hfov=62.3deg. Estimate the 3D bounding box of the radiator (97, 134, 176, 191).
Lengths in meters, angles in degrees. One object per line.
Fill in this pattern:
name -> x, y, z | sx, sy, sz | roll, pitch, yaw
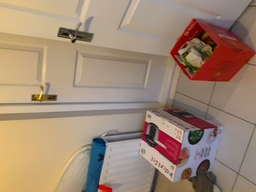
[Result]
radiator -> 0.030, 0.720, 1.680 | 0.090, 0.570, 0.850 | 35, 119, 50
